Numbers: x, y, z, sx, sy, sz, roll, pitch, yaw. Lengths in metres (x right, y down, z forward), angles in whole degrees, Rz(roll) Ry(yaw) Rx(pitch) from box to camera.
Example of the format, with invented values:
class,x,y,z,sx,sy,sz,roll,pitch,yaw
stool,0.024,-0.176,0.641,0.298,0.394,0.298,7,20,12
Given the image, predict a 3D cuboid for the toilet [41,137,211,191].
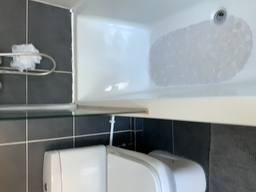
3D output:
class,x,y,z,sx,sy,sz,roll,pitch,yaw
toilet,-0.030,0.550,1.300,0.690,0.790,0.420,-2,88,54
